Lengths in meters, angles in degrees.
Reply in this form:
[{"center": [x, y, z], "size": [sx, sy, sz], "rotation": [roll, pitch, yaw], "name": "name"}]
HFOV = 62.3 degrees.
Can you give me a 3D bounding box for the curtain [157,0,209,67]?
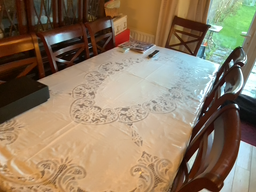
[{"center": [0.750, -1.230, 2.520], "size": [0.430, 1.720, 0.210], "rotation": [21, 33, 20], "name": "curtain"}]
